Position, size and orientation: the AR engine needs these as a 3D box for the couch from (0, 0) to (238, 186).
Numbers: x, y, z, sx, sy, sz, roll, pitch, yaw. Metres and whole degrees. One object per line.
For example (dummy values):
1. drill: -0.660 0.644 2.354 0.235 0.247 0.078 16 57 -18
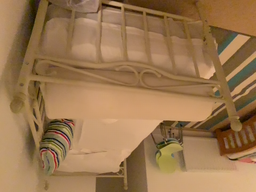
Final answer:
1. couch: -0.310 0.240 2.010 1.070 0.820 2.290 6 149 -14
